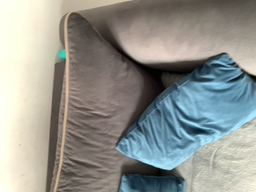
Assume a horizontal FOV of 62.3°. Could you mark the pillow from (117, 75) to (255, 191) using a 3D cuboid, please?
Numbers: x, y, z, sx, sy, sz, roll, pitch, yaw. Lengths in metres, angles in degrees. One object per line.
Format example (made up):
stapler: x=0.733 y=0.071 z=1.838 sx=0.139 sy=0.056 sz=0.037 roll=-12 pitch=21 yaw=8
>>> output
pillow: x=0.200 y=0.110 z=0.700 sx=0.370 sy=0.270 sz=0.330 roll=6 pitch=94 yaw=37
